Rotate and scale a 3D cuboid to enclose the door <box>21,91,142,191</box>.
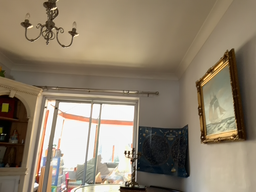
[{"bbox_3d":[-0.670,1.020,3.270,1.680,2.120,0.270,3,-15,0],"label":"door"}]

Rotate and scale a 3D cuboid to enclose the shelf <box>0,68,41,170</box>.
[{"bbox_3d":[-1.670,0.320,2.830,0.570,1.180,0.740,3,-15,-1],"label":"shelf"}]
